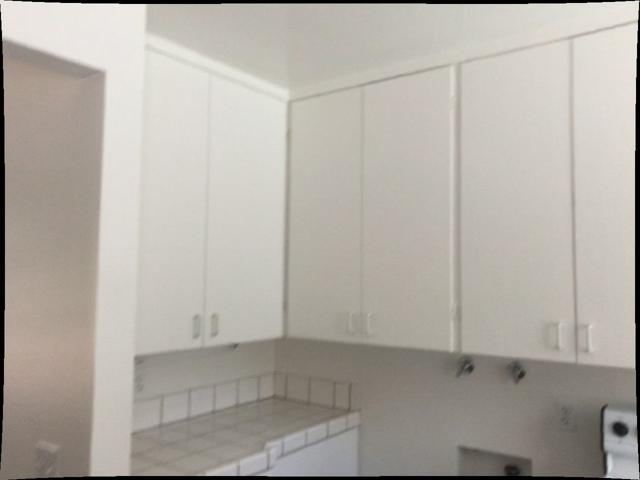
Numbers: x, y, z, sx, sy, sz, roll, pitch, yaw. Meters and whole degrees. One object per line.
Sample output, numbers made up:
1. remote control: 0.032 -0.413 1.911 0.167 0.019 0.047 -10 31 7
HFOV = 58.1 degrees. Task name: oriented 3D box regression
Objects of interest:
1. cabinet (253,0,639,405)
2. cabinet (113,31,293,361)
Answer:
1. cabinet: 1.118 -0.130 1.860 3.087 1.232 0.500 -5 -6 35
2. cabinet: -0.419 -0.130 2.270 0.160 1.102 0.790 -5 -6 35
